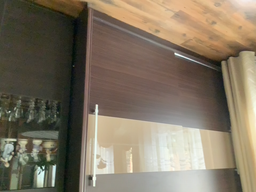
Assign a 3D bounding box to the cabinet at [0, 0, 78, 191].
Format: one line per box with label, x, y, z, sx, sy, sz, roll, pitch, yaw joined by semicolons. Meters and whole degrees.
cabinet;-0.760;0.320;1.560;0.520;2.180;0.450;11;160;-33
